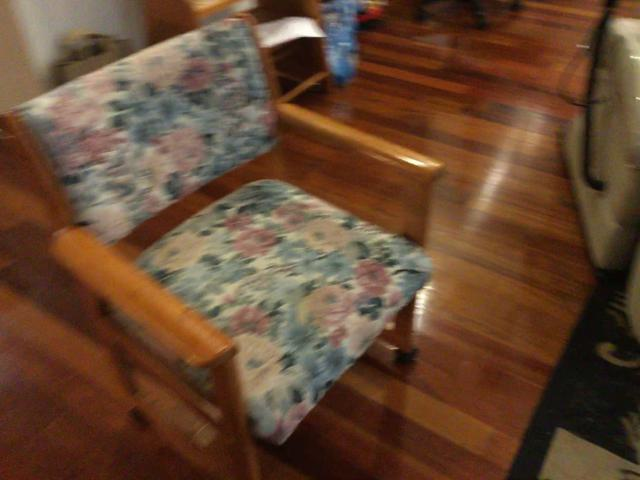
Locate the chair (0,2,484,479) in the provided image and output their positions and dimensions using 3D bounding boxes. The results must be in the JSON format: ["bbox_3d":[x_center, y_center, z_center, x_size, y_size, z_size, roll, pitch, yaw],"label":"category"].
[{"bbox_3d":[-0.140,0.070,1.170,0.610,0.810,0.650,22,45,28],"label":"chair"}]

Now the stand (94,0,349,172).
[{"bbox_3d":[-0.330,-0.790,2.290,0.520,0.610,0.820,22,45,28],"label":"stand"}]
